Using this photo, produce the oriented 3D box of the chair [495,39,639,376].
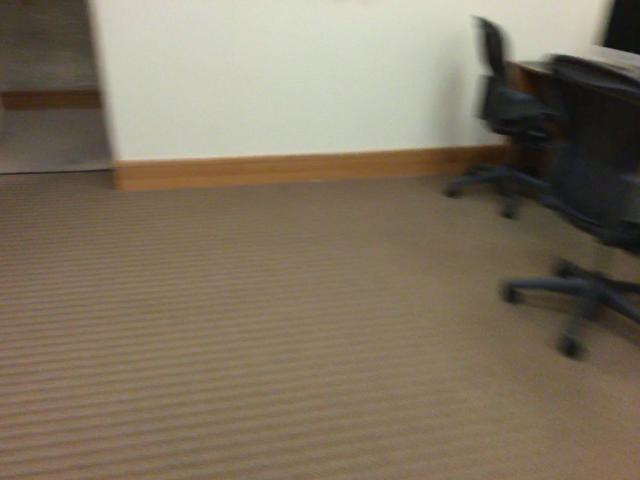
[{"bbox_3d":[1.030,-0.140,2.030,0.480,1.000,0.620,-3,26,-6],"label":"chair"}]
